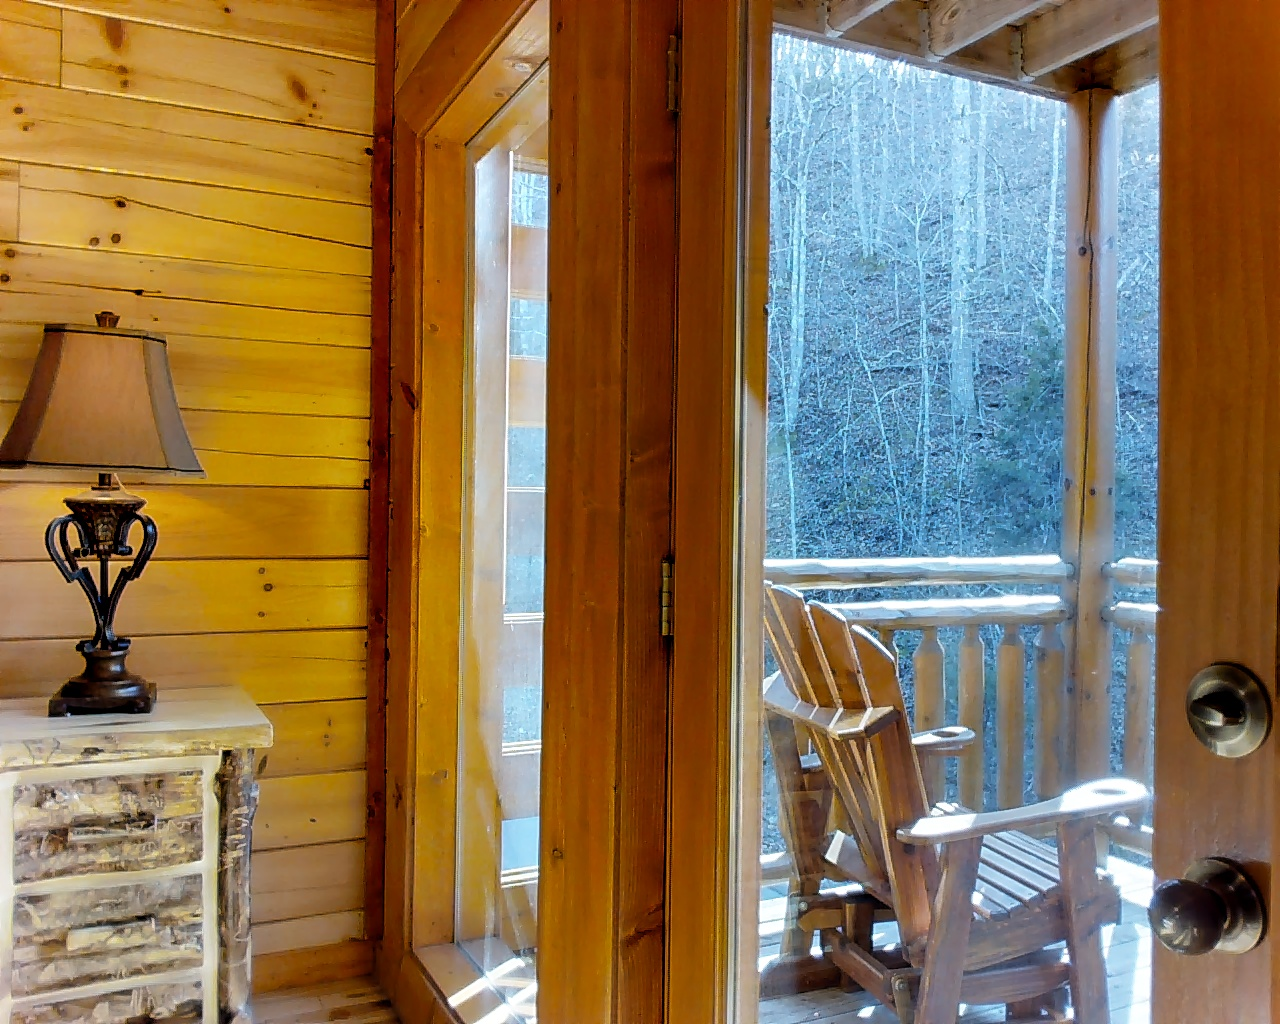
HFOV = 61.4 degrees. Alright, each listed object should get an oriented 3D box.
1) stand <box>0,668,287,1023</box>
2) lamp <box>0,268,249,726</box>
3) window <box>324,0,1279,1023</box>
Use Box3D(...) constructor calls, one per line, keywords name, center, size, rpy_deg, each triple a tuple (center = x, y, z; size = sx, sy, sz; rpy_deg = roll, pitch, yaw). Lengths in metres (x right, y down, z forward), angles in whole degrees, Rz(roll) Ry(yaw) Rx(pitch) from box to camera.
Box3D(name="stand", center=(-1.110, 0.770, 2.260), size=(0.630, 0.760, 0.610), rpy_deg=(0, 1, -25))
Box3D(name="lamp", center=(-1.140, -0.030, 2.320), size=(0.520, 0.870, 0.430), rpy_deg=(0, 1, -25))
Box3D(name="window", center=(0.180, 0.050, 1.090), size=(0.360, 2.251, 3.830), rpy_deg=(0, 1, -25))
